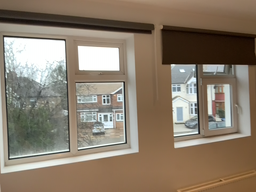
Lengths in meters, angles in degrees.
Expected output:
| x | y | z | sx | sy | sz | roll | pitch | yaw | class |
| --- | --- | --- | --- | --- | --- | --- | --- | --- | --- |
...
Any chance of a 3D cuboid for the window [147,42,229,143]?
| x | y | z | sx | sy | sz | roll | pitch | yaw | class |
| --- | --- | --- | --- | --- | --- | --- | --- | --- | --- |
| 0.840 | -0.060 | 2.830 | 1.190 | 1.210 | 0.130 | -3 | 1 | -22 | window |
